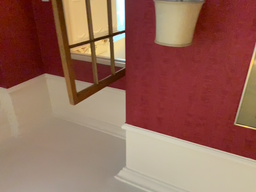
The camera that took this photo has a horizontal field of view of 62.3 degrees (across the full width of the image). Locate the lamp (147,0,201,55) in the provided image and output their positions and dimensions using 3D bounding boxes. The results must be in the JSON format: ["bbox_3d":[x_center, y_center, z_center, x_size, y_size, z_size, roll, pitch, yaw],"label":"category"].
[{"bbox_3d":[0.210,-0.430,0.930,0.190,0.440,0.170,13,-149,24],"label":"lamp"}]
